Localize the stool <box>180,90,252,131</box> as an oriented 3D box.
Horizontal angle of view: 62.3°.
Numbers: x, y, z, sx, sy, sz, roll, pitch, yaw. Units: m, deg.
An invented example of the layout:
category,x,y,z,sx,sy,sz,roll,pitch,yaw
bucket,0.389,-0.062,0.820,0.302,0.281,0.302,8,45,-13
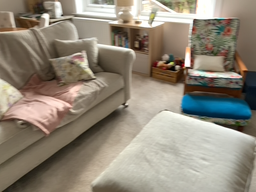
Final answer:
category,x,y,z,sx,sy,sz,roll,pitch,yaw
stool,0.890,0.140,2.250,0.630,0.220,0.340,5,30,10
